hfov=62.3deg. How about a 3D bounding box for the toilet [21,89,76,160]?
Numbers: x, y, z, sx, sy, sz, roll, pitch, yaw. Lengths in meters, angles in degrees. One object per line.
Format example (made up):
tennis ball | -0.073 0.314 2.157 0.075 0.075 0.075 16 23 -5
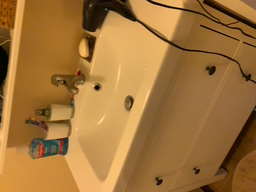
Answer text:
toilet | -0.370 0.130 0.970 0.110 0.160 0.300 46 123 44

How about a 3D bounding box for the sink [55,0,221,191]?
sink | -0.070 0.010 0.830 0.490 0.140 0.840 42 120 46
